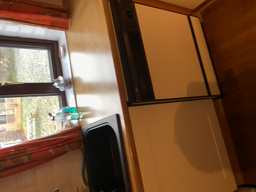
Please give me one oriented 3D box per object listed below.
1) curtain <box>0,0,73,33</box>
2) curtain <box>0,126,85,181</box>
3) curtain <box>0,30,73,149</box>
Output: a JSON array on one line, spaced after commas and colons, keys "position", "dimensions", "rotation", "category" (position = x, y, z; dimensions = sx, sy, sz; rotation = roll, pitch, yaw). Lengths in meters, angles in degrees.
[{"position": [-0.840, -0.570, 1.330], "dimensions": [0.090, 0.960, 0.210], "rotation": [-27, 71, 53], "category": "curtain"}, {"position": [-0.700, 0.340, 1.150], "dimensions": [0.040, 0.950, 0.230], "rotation": [-25, 72, 53], "category": "curtain"}, {"position": [-0.870, -0.060, 1.460], "dimensions": [0.090, 0.870, 0.820], "rotation": [-25, 72, 53], "category": "curtain"}]
